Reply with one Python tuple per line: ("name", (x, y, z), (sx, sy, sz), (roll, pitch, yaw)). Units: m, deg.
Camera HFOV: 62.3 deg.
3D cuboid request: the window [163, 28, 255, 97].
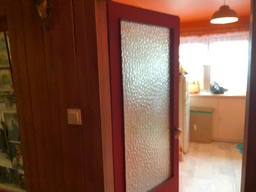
("window", (1.640, -0.680, 4.500), (1.760, 1.290, 0.330), (2, 9, 23))
